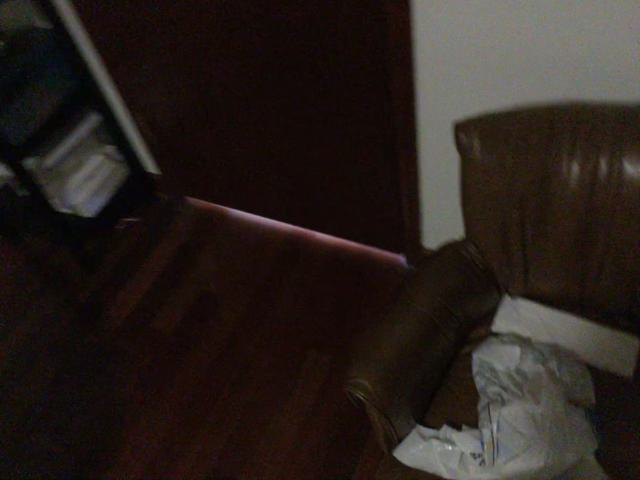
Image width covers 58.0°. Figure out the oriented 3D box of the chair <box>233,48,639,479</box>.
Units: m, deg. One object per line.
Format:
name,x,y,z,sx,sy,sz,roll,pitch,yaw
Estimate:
chair,0.410,0.270,0.990,0.680,0.810,0.700,17,54,22
